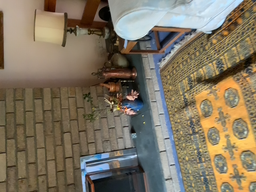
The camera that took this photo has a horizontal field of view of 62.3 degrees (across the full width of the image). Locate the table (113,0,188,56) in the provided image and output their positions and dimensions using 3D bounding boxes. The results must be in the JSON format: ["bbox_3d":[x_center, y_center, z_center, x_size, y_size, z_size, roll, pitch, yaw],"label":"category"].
[{"bbox_3d":[0.150,-0.610,1.690,0.420,0.380,0.420,144,119,-63],"label":"table"}]
